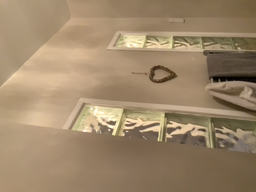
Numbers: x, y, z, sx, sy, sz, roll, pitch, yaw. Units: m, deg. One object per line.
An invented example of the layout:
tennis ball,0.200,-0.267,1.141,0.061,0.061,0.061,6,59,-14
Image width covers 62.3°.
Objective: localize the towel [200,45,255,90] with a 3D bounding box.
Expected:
towel,0.720,-0.180,1.310,0.310,0.500,0.120,-72,-18,-49
